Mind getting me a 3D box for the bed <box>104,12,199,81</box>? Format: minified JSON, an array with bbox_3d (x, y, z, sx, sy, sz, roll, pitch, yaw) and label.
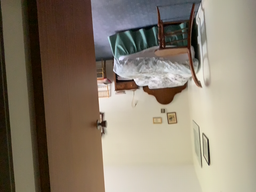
[{"bbox_3d":[0.380,-0.610,3.340,1.010,0.580,1.970,-4,-179,8],"label":"bed"}]
